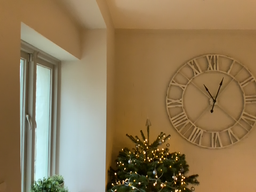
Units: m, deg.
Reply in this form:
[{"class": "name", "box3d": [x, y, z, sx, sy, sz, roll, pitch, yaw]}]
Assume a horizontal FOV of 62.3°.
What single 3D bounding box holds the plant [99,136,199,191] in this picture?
[{"class": "plant", "box3d": [0.210, 1.060, 2.360, 0.930, 1.080, 0.750, 1, 0, 4]}]
